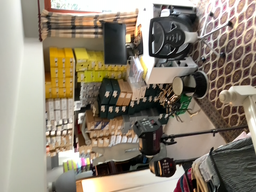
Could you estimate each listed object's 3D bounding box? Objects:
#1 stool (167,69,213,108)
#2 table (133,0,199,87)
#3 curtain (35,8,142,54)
[{"bbox_3d":[0.880,-0.110,3.090,0.410,0.390,0.380,111,149,-45],"label":"stool"},{"bbox_3d":[0.570,-0.830,3.350,0.760,0.720,1.340,-175,83,-69],"label":"table"},{"bbox_3d":[-0.600,-0.990,3.340,0.280,1.550,0.530,-116,31,-46],"label":"curtain"}]
